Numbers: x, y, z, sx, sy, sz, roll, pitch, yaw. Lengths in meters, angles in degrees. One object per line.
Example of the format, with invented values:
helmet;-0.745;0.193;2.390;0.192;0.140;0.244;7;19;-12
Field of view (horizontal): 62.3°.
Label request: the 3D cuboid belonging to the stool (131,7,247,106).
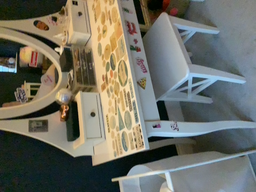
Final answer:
stool;0.330;-0.190;1.230;0.330;0.450;0.390;-43;53;48
